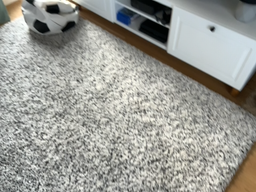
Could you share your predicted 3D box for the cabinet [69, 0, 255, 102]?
[{"bbox_3d":[0.200,-0.720,1.800,1.830,0.500,0.430,36,61,25],"label":"cabinet"}]
